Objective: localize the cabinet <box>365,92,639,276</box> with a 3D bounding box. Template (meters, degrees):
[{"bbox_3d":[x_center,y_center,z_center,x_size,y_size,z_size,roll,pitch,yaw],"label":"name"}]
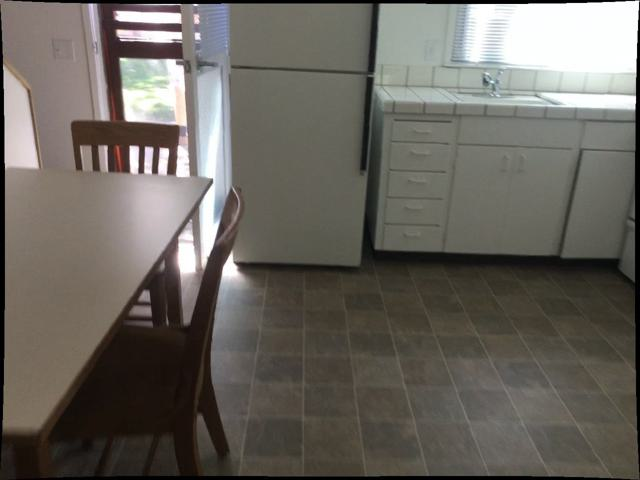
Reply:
[{"bbox_3d":[1.008,-0.290,3.160,1.438,0.941,0.250,1,23,-3],"label":"cabinet"}]

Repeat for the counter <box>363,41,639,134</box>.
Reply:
[{"bbox_3d":[1.338,-0.841,3.150,2.117,0.330,0.800,1,23,-3],"label":"counter"}]

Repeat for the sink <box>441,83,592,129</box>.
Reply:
[{"bbox_3d":[1.038,-0.741,3.150,0.629,0.130,0.540,1,23,-3],"label":"sink"}]
